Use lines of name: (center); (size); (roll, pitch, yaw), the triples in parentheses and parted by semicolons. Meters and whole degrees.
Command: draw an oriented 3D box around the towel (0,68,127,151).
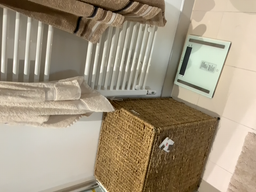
towel: (-0.450, 0.040, 0.800); (0.190, 0.950, 0.250); (29, 113, 46)
